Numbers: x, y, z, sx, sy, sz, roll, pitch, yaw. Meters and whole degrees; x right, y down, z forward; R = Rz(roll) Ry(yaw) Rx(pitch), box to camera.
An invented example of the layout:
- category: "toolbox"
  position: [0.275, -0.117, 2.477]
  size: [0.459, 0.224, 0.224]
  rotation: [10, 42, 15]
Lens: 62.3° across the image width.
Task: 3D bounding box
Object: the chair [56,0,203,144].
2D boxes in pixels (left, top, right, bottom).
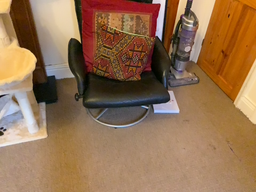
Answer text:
- category: "chair"
  position: [-0.070, -0.270, 1.550]
  size: [0.690, 0.930, 0.740]
  rotation: [-3, 42, -10]

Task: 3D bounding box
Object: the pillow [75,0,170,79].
- category: "pillow"
  position: [-0.040, -0.470, 1.530]
  size: [0.570, 0.610, 0.210]
  rotation: [-10, 7, -6]
